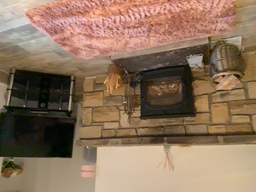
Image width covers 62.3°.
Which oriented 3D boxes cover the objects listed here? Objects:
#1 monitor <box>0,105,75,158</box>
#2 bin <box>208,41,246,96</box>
[{"bbox_3d":[-1.170,0.460,2.710,0.910,0.620,0.050,6,162,-16],"label":"monitor"},{"bbox_3d":[1.000,-0.270,2.190,0.290,0.440,0.320,-5,162,19],"label":"bin"}]
